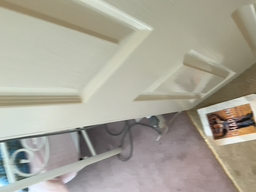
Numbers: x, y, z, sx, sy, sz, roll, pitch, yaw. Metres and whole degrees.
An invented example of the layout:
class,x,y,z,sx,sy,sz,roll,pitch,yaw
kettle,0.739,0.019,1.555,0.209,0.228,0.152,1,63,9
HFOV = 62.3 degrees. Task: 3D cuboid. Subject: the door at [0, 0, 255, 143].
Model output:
class,x,y,z,sx,sy,sz,roll,pitch,yaw
door,0.050,-0.140,0.270,0.660,1.870,0.020,-45,67,27
